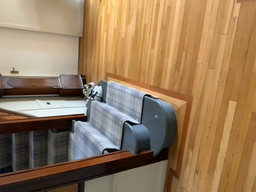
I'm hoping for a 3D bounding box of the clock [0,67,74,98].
[{"bbox_3d":[-1.530,-0.200,3.110,0.280,1.370,0.350,46,128,45],"label":"clock"}]
